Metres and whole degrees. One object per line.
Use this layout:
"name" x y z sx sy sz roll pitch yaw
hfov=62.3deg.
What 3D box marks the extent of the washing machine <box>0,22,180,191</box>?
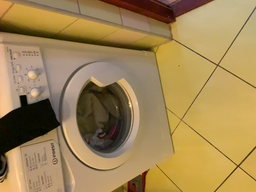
"washing machine" -0.210 0.100 1.010 0.480 0.840 0.590 -12 87 40
